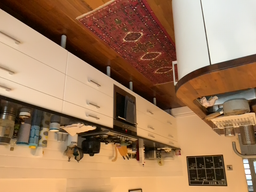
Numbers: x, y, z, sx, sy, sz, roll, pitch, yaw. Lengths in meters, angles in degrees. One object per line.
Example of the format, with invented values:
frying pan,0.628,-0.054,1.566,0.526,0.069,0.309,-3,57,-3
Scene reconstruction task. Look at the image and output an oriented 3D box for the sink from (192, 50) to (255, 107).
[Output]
sink,0.720,-0.100,1.430,0.450,0.190,0.360,-13,157,29
